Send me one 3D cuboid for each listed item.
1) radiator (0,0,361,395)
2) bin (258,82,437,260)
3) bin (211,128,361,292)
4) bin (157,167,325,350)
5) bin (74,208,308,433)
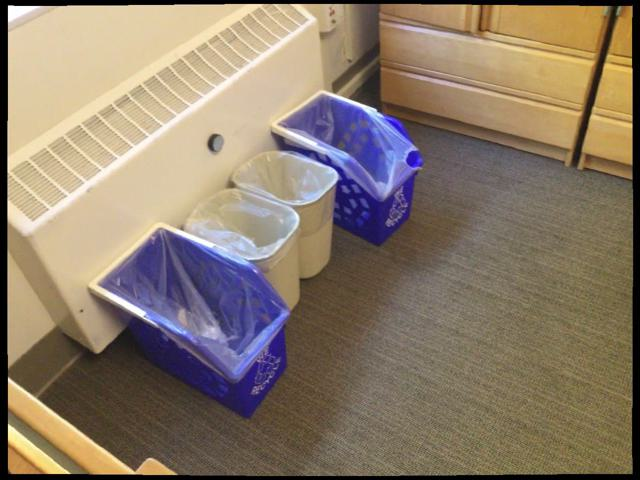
[{"bbox_3d":[-0.309,-0.240,1.740,0.260,0.631,1.250,21,51,26],"label":"radiator"},{"bbox_3d":[0.100,-0.240,1.920,0.449,0.350,0.340,21,51,26],"label":"bin"},{"bbox_3d":[-0.090,-0.100,1.810,0.320,0.320,0.300,21,51,26],"label":"bin"},{"bbox_3d":[-0.210,0.050,1.670,0.320,0.350,0.280,21,51,26],"label":"bin"},{"bbox_3d":[-0.319,0.200,1.520,0.469,0.350,0.280,21,51,26],"label":"bin"}]
